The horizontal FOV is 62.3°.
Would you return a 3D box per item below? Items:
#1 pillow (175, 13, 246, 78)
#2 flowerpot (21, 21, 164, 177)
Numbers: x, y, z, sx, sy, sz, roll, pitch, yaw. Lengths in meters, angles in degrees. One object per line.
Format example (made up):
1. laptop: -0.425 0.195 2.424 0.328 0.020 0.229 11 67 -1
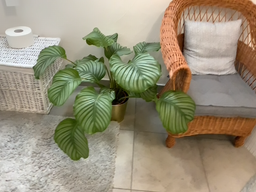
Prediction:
1. pillow: 0.540 -0.320 1.440 0.390 0.370 0.120 -11 53 11
2. flowerpot: -0.150 -0.060 1.490 0.630 0.550 0.980 5 38 0
